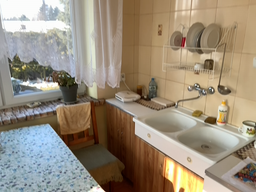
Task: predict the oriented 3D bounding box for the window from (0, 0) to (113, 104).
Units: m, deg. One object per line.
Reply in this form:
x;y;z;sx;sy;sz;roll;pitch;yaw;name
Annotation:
-0.980;-0.560;1.650;1.900;1.210;0.200;-11;21;-34;window
